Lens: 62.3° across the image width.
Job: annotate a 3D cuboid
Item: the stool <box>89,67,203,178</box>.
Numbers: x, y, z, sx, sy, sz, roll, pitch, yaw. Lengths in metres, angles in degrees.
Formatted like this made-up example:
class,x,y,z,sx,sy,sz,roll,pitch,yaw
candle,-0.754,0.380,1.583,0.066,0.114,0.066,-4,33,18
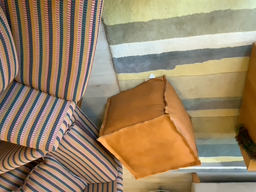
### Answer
class,x,y,z,sx,sy,sz,roll,pitch,yaw
stool,0.140,0.200,1.450,0.530,0.420,0.500,-19,125,22
